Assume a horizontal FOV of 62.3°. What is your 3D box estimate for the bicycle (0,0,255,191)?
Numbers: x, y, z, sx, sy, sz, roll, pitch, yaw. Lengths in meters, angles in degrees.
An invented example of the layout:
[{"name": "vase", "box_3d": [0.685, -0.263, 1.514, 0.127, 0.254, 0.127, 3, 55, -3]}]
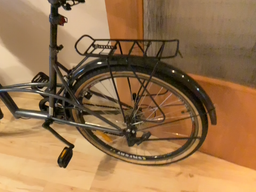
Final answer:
[{"name": "bicycle", "box_3d": [-0.480, -0.070, 0.950, 1.740, 1.120, 0.420, 7, 45, 12]}]
